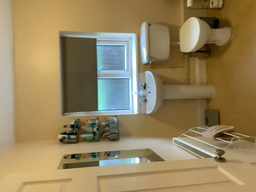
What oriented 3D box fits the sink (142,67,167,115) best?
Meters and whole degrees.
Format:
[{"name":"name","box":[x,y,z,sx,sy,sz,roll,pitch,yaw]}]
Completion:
[{"name":"sink","box":[0.320,-0.060,2.640,0.360,0.200,0.550,176,92,-79]}]
